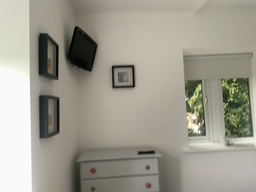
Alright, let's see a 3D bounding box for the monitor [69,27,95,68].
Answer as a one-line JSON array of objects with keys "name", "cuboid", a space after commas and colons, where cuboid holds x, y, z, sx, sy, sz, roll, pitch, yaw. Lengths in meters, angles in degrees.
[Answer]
[{"name": "monitor", "cuboid": [-0.480, -0.500, 2.250, 0.040, 0.330, 0.400, -4, -4, 23]}]
